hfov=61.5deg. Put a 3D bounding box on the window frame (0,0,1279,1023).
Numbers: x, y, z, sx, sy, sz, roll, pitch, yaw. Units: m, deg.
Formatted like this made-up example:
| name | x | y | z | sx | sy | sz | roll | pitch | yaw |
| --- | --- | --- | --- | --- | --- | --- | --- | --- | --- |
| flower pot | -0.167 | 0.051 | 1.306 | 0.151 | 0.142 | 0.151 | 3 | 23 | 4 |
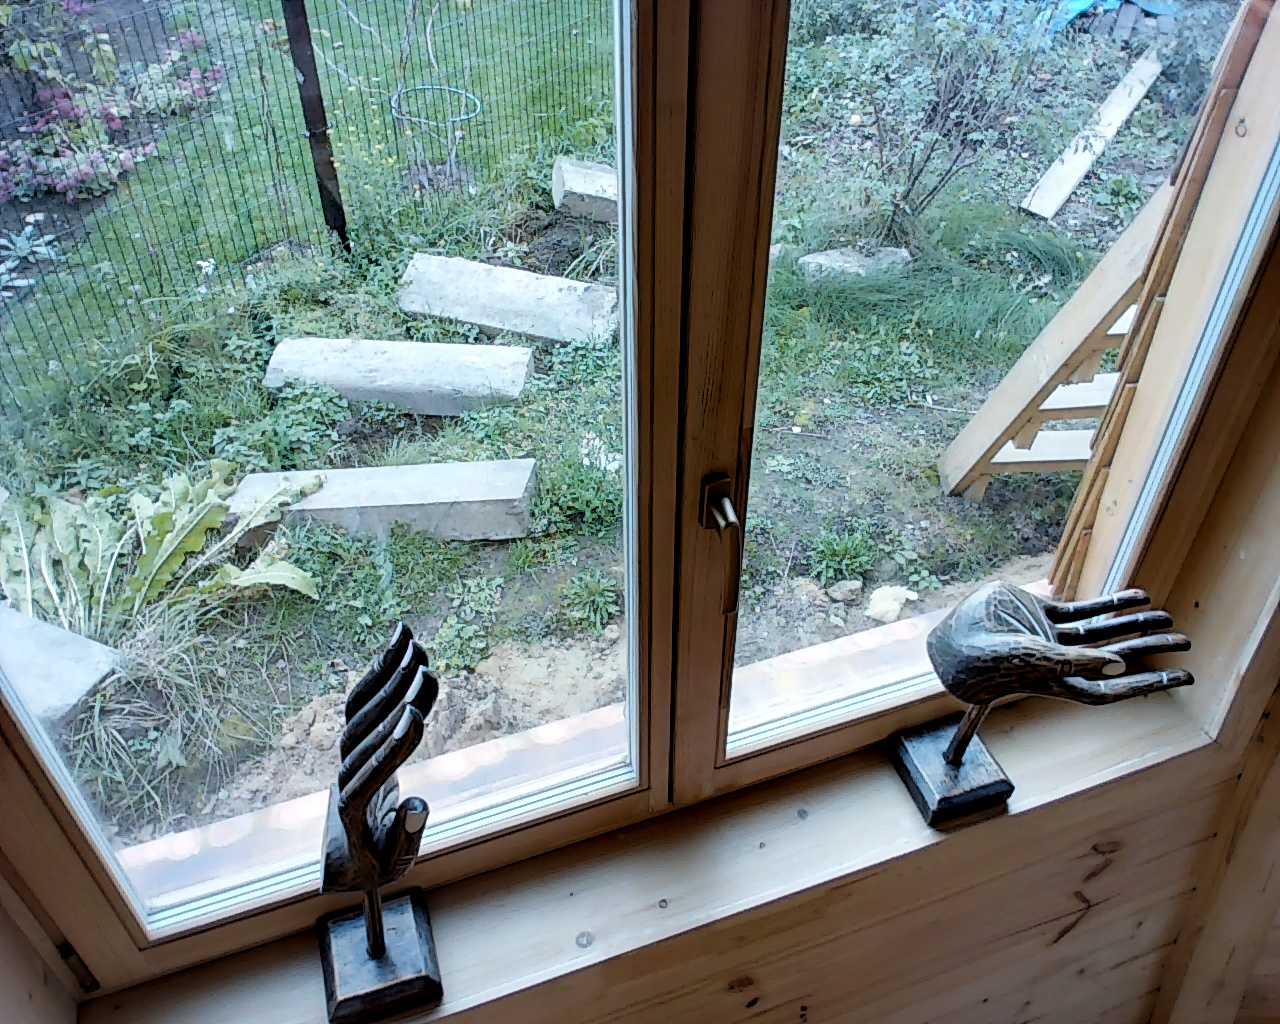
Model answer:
| name | x | y | z | sx | sy | sz | roll | pitch | yaw |
| --- | --- | --- | --- | --- | --- | --- | --- | --- | --- |
| window frame | 0.030 | -0.080 | 0.970 | 1.450 | 1.330 | 0.210 | -20 | 44 | -21 |
